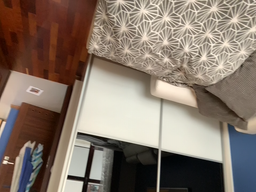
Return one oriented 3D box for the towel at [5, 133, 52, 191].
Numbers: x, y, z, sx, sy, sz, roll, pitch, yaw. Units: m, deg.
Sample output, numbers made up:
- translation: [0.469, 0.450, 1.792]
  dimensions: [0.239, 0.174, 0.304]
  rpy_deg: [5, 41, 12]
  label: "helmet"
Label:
- translation: [-1.770, 1.370, 3.710]
  dimensions: [0.480, 1.320, 0.210]
  rpy_deg: [19, 152, -24]
  label: "towel"
